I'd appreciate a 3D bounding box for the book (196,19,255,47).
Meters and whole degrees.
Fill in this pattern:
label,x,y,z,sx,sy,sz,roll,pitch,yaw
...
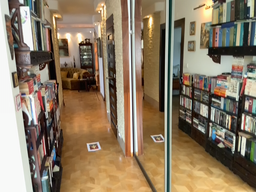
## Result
label,x,y,z,sx,sy,sz,roll,pitch,yaw
book,1.300,-0.750,2.620,0.220,0.260,1.440,-3,13,-10

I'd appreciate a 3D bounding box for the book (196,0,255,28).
label,x,y,z,sx,sy,sz,roll,pitch,yaw
book,1.300,-1.070,2.520,0.240,0.380,1.440,-4,13,-11

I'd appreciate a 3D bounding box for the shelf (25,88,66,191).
label,x,y,z,sx,sy,sz,roll,pitch,yaw
shelf,-1.070,0.500,2.980,0.240,0.920,1.710,-4,13,-13
